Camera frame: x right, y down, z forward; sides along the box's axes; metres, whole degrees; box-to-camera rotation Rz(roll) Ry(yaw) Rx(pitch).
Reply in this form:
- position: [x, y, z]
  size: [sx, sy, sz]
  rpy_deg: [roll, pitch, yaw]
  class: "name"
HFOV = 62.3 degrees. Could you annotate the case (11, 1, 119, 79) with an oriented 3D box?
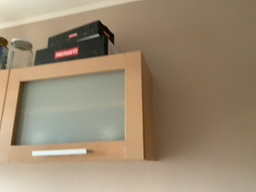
- position: [-0.270, -0.250, 1.020]
  size: [0.420, 0.240, 0.240]
  rpy_deg: [-3, -17, 7]
  class: "case"
